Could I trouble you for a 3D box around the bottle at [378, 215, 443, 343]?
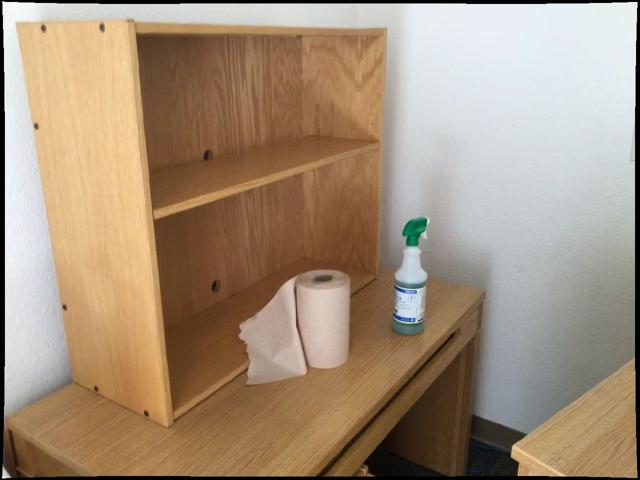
[{"bbox_3d":[0.239,0.100,1.540,0.110,0.301,0.120,16,25,40],"label":"bottle"}]
